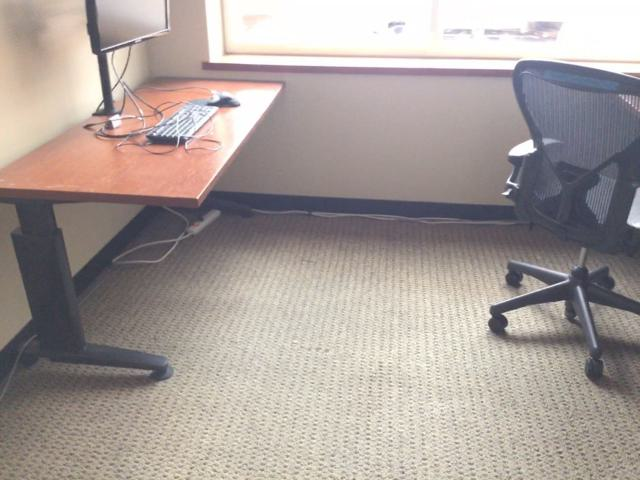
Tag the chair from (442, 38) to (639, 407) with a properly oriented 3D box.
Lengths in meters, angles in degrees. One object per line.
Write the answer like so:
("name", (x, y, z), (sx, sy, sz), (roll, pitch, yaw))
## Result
("chair", (0.950, -0.140, 2.060), (0.700, 1.020, 0.690), (-23, 27, -34))
